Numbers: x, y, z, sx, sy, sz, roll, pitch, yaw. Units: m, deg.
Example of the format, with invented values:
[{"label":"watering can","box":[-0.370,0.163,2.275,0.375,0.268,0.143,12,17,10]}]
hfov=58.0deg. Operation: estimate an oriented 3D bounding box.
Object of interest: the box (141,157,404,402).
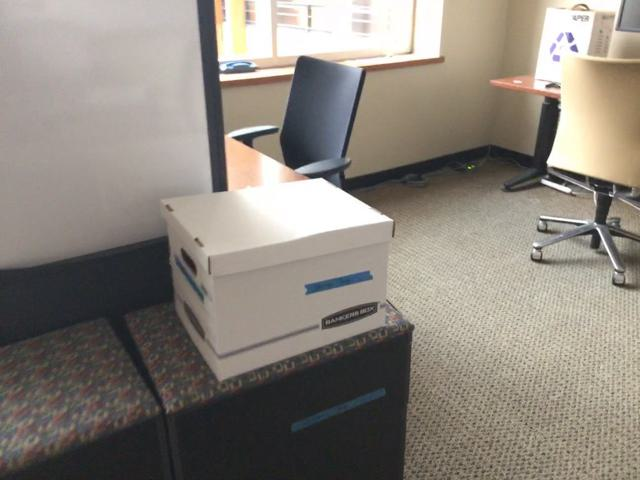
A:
[{"label":"box","box":[-0.100,0.050,1.280,0.430,0.320,0.360,-18,27,-28]}]

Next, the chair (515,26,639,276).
[{"label":"chair","box":[1.390,-0.450,2.640,0.590,0.930,0.670,-18,27,-28]}]

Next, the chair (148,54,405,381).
[{"label":"chair","box":[-0.150,-0.150,2.280,0.670,1.010,0.670,-18,27,-28]}]

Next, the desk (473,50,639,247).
[{"label":"desk","box":[1.690,-0.520,3.080,0.750,0.790,1.580,-18,27,-28]}]
